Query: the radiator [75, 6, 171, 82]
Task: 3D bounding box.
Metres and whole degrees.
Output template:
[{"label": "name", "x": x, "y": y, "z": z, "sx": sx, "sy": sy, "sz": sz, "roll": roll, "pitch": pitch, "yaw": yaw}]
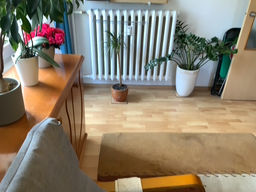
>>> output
[{"label": "radiator", "x": -0.080, "y": -0.640, "z": 2.730, "sx": 1.100, "sy": 0.880, "sz": 0.190, "roll": 2, "pitch": 29, "yaw": -4}]
